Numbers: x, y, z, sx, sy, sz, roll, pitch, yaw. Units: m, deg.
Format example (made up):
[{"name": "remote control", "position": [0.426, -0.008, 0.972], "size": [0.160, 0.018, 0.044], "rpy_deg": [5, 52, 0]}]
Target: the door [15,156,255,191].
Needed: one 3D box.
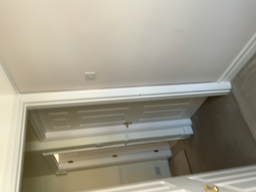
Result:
[{"name": "door", "position": [0.260, 0.570, 1.300], "size": [0.910, 2.120, 0.110], "rpy_deg": [128, 137, -72]}]
